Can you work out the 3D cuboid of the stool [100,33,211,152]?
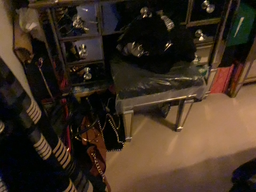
[{"bbox_3d":[0.120,-0.030,1.280,0.460,0.470,0.440,-11,44,-9],"label":"stool"}]
